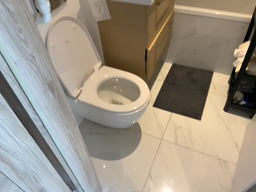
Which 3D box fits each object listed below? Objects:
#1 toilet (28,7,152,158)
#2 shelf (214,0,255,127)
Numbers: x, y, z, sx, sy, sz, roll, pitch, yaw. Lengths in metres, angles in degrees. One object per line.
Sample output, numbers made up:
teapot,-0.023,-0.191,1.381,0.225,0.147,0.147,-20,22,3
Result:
toilet,-0.160,-0.040,1.390,0.510,0.880,0.360,16,51,18
shelf,0.870,-0.270,1.420,0.250,1.070,0.350,18,51,19
